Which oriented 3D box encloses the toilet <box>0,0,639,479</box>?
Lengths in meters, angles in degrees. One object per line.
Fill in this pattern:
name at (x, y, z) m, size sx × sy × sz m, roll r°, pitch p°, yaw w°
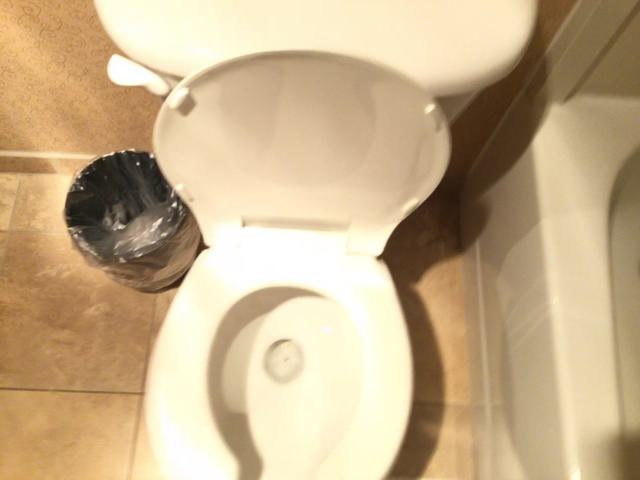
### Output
toilet at (-0.020, 0.060, 0.830) m, size 0.490 × 0.770 × 0.680 m, roll 2°, pitch 69°, yaw -2°
